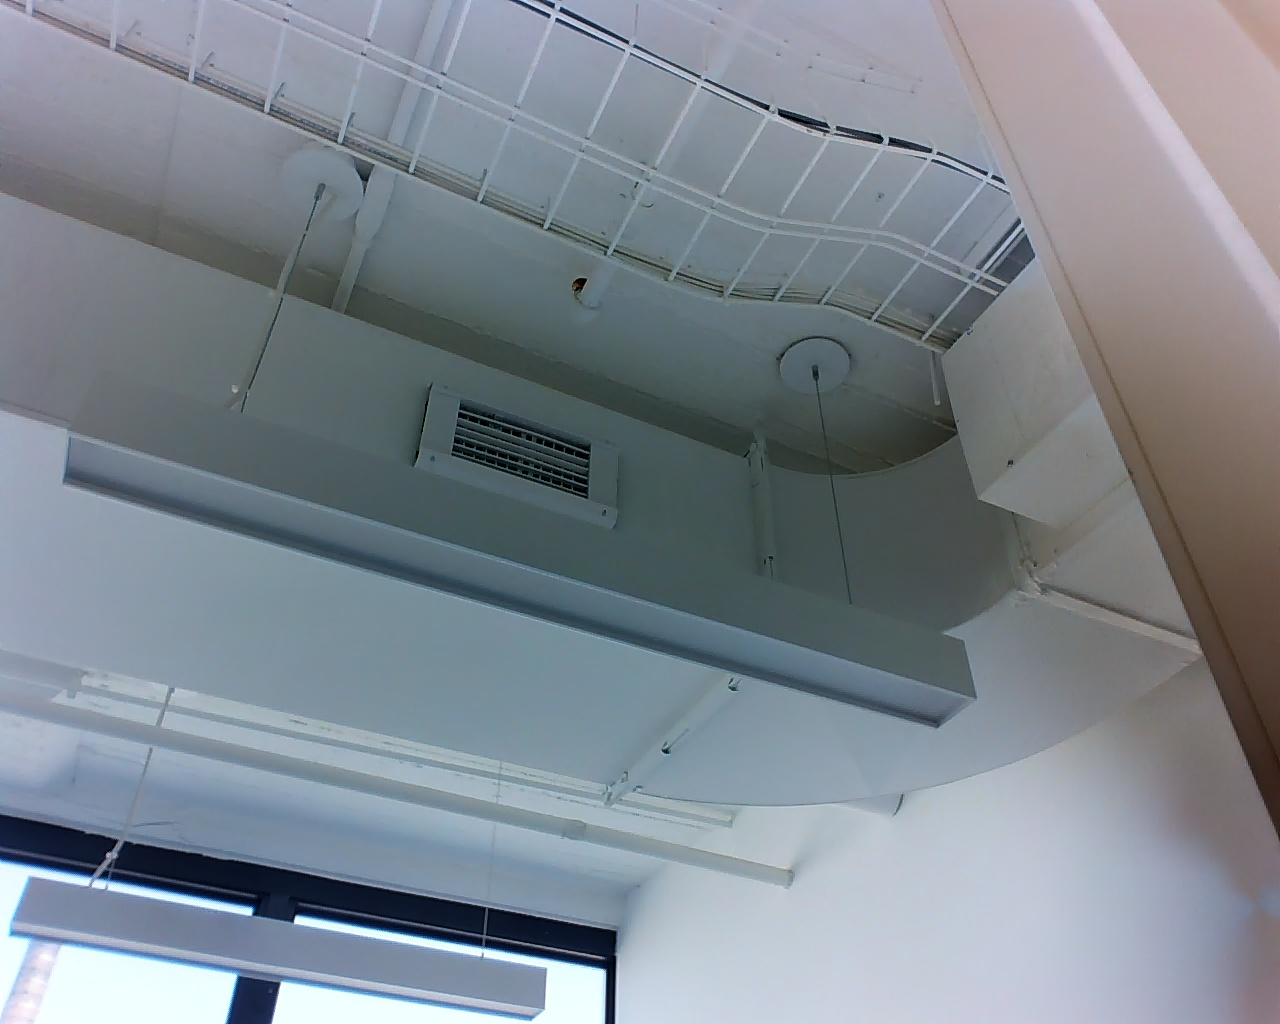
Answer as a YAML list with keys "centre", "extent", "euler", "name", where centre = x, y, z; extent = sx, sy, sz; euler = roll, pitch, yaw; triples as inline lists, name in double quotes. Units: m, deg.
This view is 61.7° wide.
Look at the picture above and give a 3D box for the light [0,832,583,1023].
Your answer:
- centre: [-0.769, 1.021, 2.540]
  extent: [1.299, 0.200, 0.180]
  euler: [18, -45, -19]
  name: "light"
